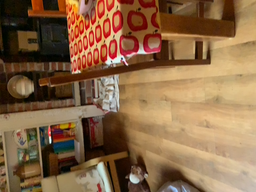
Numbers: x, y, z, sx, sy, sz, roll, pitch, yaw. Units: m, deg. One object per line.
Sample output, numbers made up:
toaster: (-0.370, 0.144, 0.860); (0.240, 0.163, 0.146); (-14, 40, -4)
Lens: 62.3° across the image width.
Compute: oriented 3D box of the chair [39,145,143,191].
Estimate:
chair: (-0.470, 1.140, 2.530); (0.830, 0.970, 0.750); (-46, 55, 55)

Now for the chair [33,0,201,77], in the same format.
chair: (-0.060, -0.400, 1.450); (0.470, 1.010, 0.450); (0, 95, 61)
